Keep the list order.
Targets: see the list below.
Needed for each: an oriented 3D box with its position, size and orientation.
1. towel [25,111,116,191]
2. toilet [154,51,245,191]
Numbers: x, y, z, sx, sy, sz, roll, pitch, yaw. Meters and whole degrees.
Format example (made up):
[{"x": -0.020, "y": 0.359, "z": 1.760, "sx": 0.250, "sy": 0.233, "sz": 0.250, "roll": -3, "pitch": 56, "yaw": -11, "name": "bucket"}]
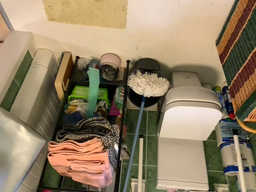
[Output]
[{"x": -0.300, "y": 0.390, "z": 1.360, "sx": 0.400, "sy": 0.290, "sz": 0.600, "roll": 4, "pitch": 145, "yaw": 2, "name": "towel"}, {"x": 0.410, "y": 0.190, "z": 1.510, "sx": 0.370, "sy": 0.770, "sz": 0.620, "roll": 4, "pitch": 145, "yaw": 2, "name": "toilet"}]
